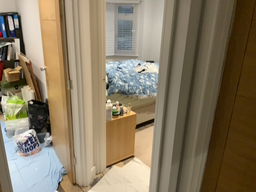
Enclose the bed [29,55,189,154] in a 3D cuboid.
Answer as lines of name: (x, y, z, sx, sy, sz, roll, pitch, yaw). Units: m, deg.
bed: (-0.240, -0.110, 3.720, 2.260, 0.790, 1.520, -17, 27, -42)
